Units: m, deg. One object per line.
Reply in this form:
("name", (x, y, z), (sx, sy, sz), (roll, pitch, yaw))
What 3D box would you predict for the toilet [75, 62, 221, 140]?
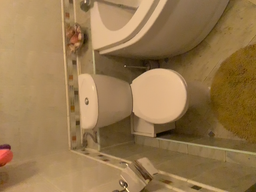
("toilet", (0.140, 0.020, 1.510), (0.670, 0.770, 0.370), (-3, 90, 49))
